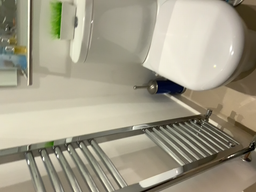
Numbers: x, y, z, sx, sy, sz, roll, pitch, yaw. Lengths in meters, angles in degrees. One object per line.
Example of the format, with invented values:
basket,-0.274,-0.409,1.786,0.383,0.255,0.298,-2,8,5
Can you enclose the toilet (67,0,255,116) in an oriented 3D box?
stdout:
toilet,0.230,-0.270,1.000,0.630,0.810,0.390,35,122,48
